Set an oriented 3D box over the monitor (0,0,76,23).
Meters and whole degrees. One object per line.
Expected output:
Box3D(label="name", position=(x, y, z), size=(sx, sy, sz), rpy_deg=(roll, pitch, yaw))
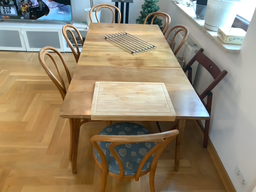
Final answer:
Box3D(label="monitor", position=(-1.430, -1.480, 3.130), size=(1.240, 0.720, 0.090), rpy_deg=(1, 35, -4))
